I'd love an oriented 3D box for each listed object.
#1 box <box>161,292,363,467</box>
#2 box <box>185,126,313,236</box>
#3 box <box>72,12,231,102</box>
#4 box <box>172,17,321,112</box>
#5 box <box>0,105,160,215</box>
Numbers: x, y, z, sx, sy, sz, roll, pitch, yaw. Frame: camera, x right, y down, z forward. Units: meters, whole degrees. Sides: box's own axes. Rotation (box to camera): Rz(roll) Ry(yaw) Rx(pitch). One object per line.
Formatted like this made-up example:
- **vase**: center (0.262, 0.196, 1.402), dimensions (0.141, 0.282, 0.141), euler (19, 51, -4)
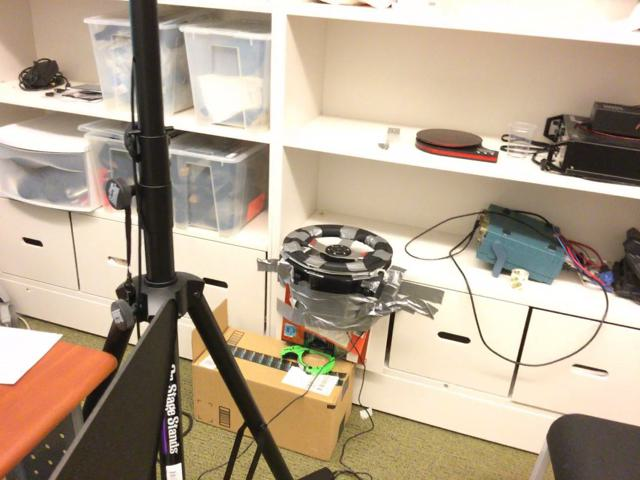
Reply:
- **box**: center (-0.180, 0.430, 1.870), dimensions (0.560, 0.340, 0.280), euler (9, 23, 18)
- **box**: center (-0.220, -0.210, 1.910), dimensions (0.280, 0.250, 0.350), euler (9, 23, 18)
- **box**: center (-0.530, -0.610, 1.890), dimensions (0.330, 0.240, 0.370), euler (9, 23, 18)
- **box**: center (-0.210, -0.550, 1.770), dimensions (0.320, 0.240, 0.340), euler (9, 23, 18)
- **box**: center (-0.900, -0.310, 2.110), dimensions (0.440, 0.270, 0.400), euler (9, 23, 18)
